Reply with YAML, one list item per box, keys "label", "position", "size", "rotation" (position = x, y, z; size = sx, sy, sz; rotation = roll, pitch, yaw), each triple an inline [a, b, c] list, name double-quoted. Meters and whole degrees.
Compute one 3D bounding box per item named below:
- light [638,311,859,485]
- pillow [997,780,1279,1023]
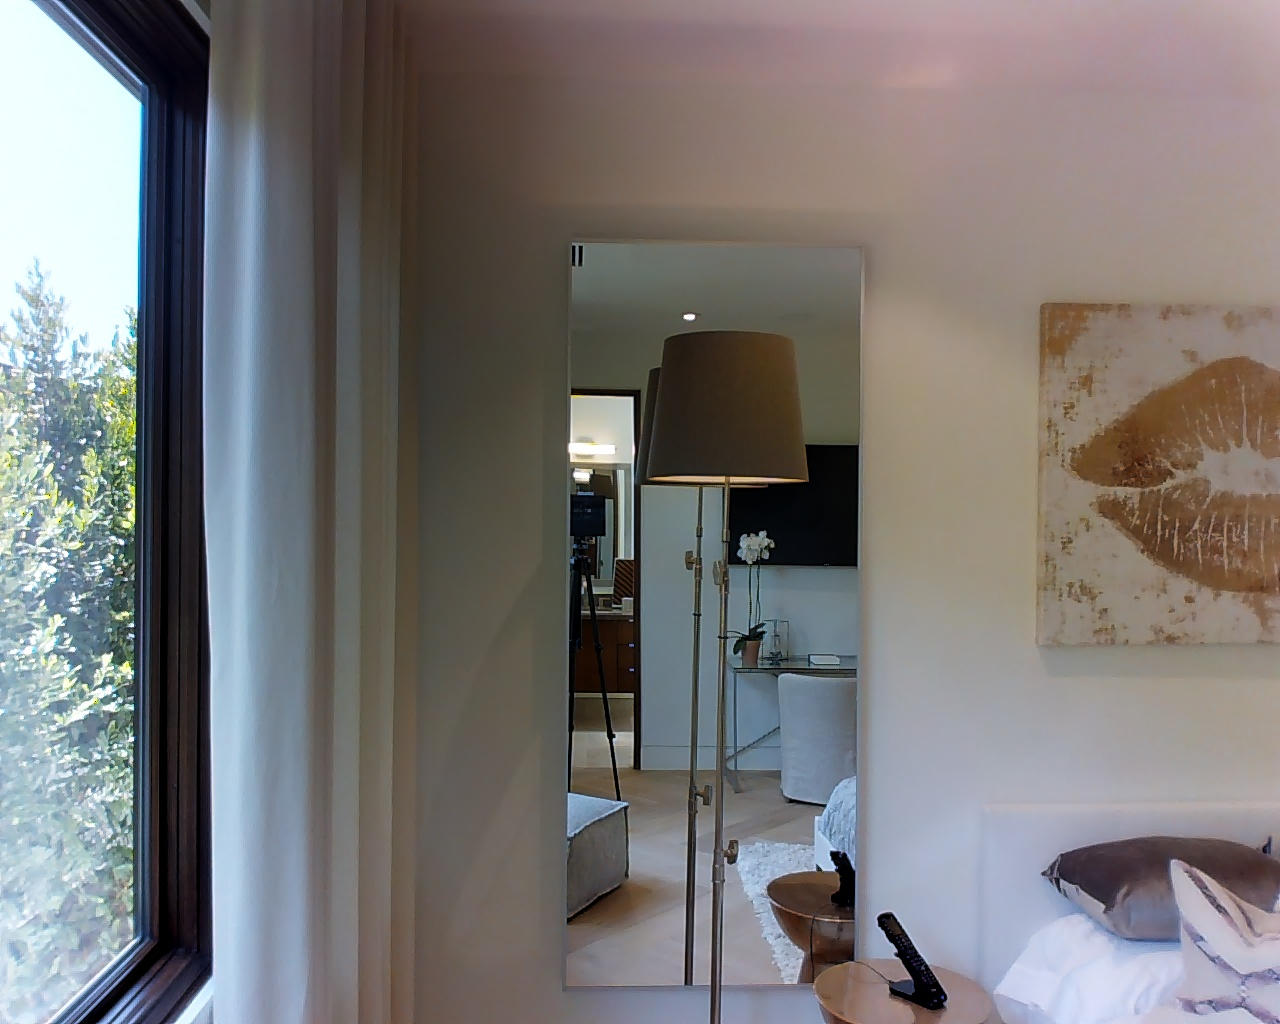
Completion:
- label: "light"
  position: [0.250, -0.250, 2.530]
  size: [0.410, 0.360, 0.310]
  rotation: [0, 0, -26]
- label: "pillow"
  position: [1.680, 0.970, 2.400]
  size: [1.450, 0.520, 0.880]
  rotation: [1, 0, -3]
